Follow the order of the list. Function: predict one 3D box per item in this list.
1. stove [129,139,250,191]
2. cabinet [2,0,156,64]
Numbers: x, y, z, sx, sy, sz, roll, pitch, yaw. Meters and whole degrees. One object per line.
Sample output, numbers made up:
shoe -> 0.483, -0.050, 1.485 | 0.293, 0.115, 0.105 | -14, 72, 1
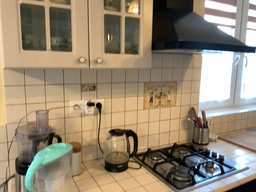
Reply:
stove -> 0.390, 0.420, 1.420 | 0.590, 0.010, 0.520 | -4, 10, -30
cabinet -> -0.230, -0.520, 1.060 | 0.700, 0.690, 0.290 | -4, 10, -30
